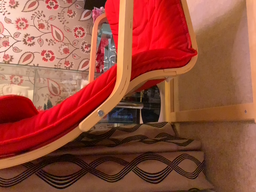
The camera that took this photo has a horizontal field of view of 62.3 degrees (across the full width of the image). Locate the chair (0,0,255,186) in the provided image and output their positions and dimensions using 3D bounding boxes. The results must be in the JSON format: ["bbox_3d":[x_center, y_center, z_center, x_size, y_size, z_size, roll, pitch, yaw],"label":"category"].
[{"bbox_3d":[-0.100,-0.180,0.880,0.690,0.960,0.820,165,107,-71],"label":"chair"}]
